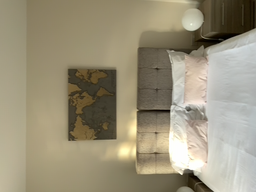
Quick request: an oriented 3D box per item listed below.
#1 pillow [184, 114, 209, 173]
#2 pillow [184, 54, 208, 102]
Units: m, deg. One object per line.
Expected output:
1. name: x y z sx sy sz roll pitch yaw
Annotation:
1. pillow: 0.770 0.520 2.410 0.140 0.250 0.630 30 -119 -78
2. pillow: 0.760 -0.200 2.380 0.120 0.240 0.520 -21 -69 -75
